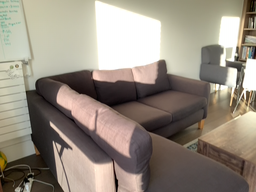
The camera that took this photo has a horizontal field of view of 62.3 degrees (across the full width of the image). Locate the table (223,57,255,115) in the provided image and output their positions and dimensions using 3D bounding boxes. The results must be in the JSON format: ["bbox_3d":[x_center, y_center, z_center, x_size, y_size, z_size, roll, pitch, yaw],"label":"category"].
[{"bbox_3d":[2.280,-0.180,3.540,0.880,0.770,0.880,-14,23,-36],"label":"table"}]
